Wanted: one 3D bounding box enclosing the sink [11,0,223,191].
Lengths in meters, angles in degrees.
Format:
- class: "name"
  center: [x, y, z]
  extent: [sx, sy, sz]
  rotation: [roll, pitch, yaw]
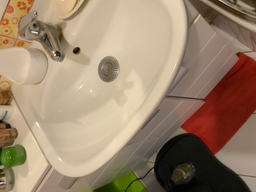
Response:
- class: "sink"
  center: [-0.090, -0.060, 0.560]
  extent: [0.380, 0.120, 0.490]
  rotation: [49, 113, 26]
